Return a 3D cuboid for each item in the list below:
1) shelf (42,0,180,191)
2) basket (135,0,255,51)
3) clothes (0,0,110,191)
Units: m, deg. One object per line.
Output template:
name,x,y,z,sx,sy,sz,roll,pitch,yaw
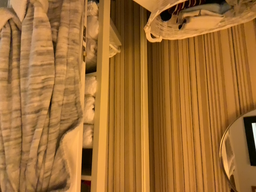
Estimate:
shelf,-0.080,-0.200,1.200,0.520,1.650,0.450,11,164,-42
basket,0.310,-0.360,0.960,0.320,0.090,0.470,11,163,-43
clothes,-0.250,-0.080,0.640,0.330,1.430,0.290,-1,168,6
